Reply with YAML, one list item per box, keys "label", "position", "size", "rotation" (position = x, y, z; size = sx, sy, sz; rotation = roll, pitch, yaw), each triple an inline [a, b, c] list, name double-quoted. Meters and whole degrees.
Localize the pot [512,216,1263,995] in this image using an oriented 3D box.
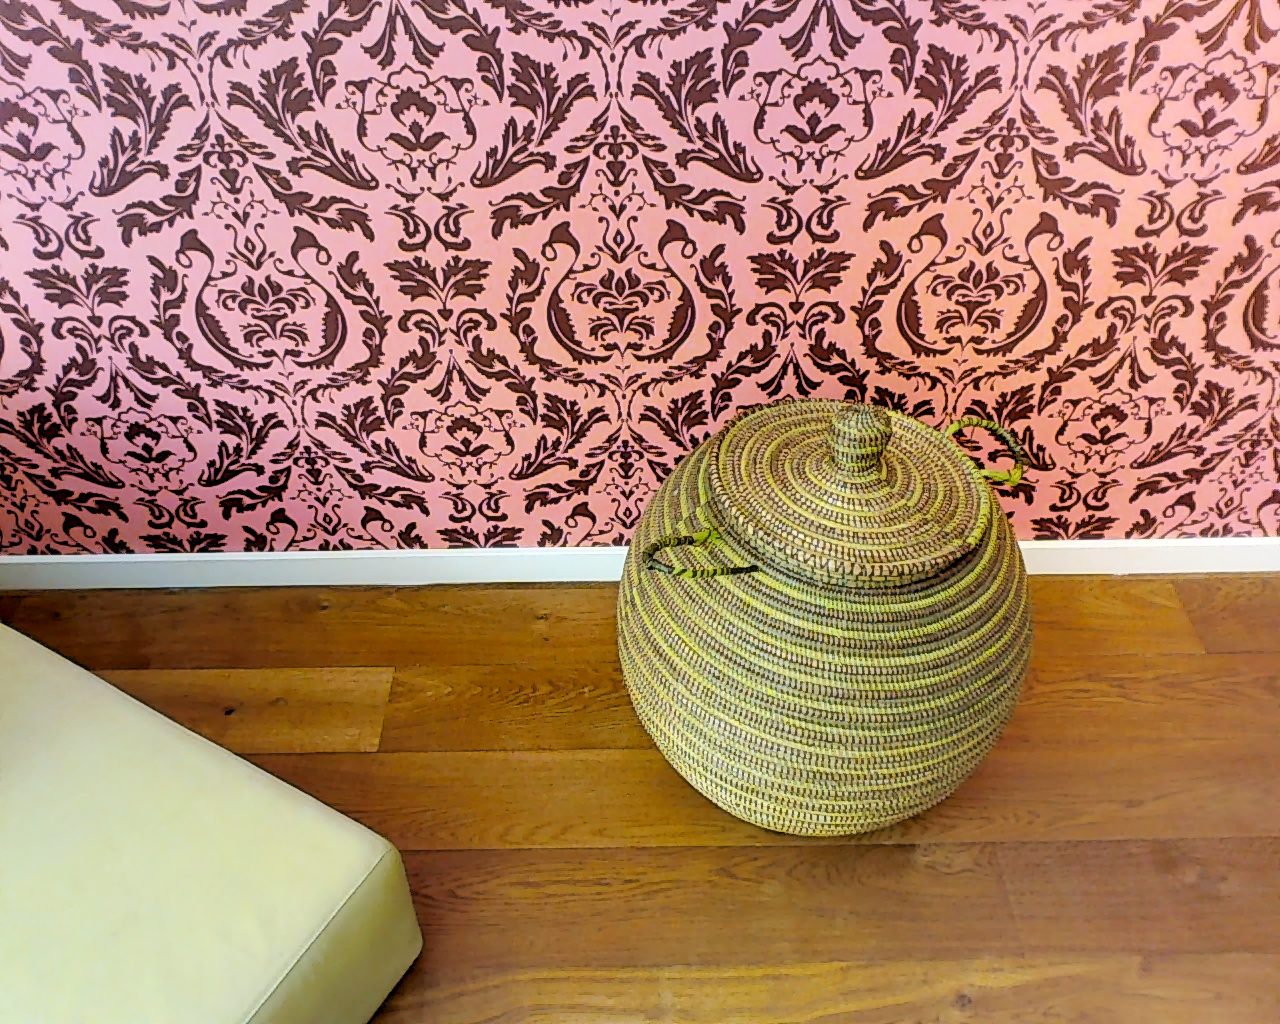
- label: "pot"
  position: [0.250, 0.100, 1.490]
  size: [0.620, 0.680, 0.640]
  rotation: [-16, 44, -16]
